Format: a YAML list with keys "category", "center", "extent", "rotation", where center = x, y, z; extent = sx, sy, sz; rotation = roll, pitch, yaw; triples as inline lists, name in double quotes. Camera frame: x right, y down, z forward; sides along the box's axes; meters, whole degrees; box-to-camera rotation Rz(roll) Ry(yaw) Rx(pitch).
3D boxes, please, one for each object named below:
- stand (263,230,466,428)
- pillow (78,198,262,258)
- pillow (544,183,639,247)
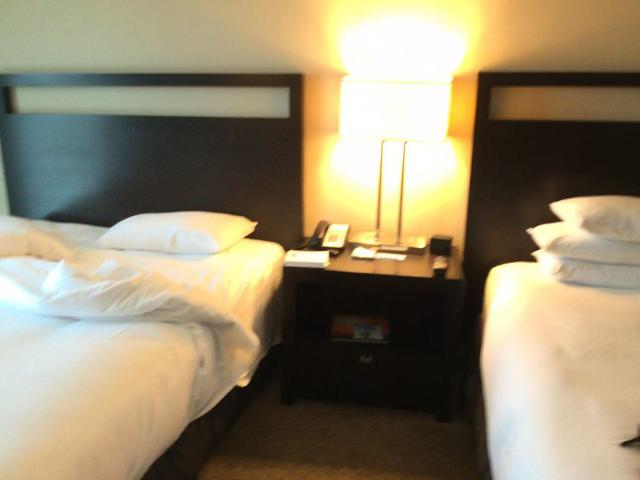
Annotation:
- category: "stand"
  center: [0.230, 0.360, 2.640]
  extent: [0.810, 0.710, 0.550]
  rotation: [1, 13, 12]
- category: "pillow"
  center: [-0.680, -0.070, 2.720]
  extent: [0.710, 0.190, 0.430]
  rotation: [1, 13, 12]
- category: "pillow"
  center: [1.230, -0.110, 2.300]
  extent: [0.560, 0.180, 0.420]
  rotation: [1, 13, 12]
